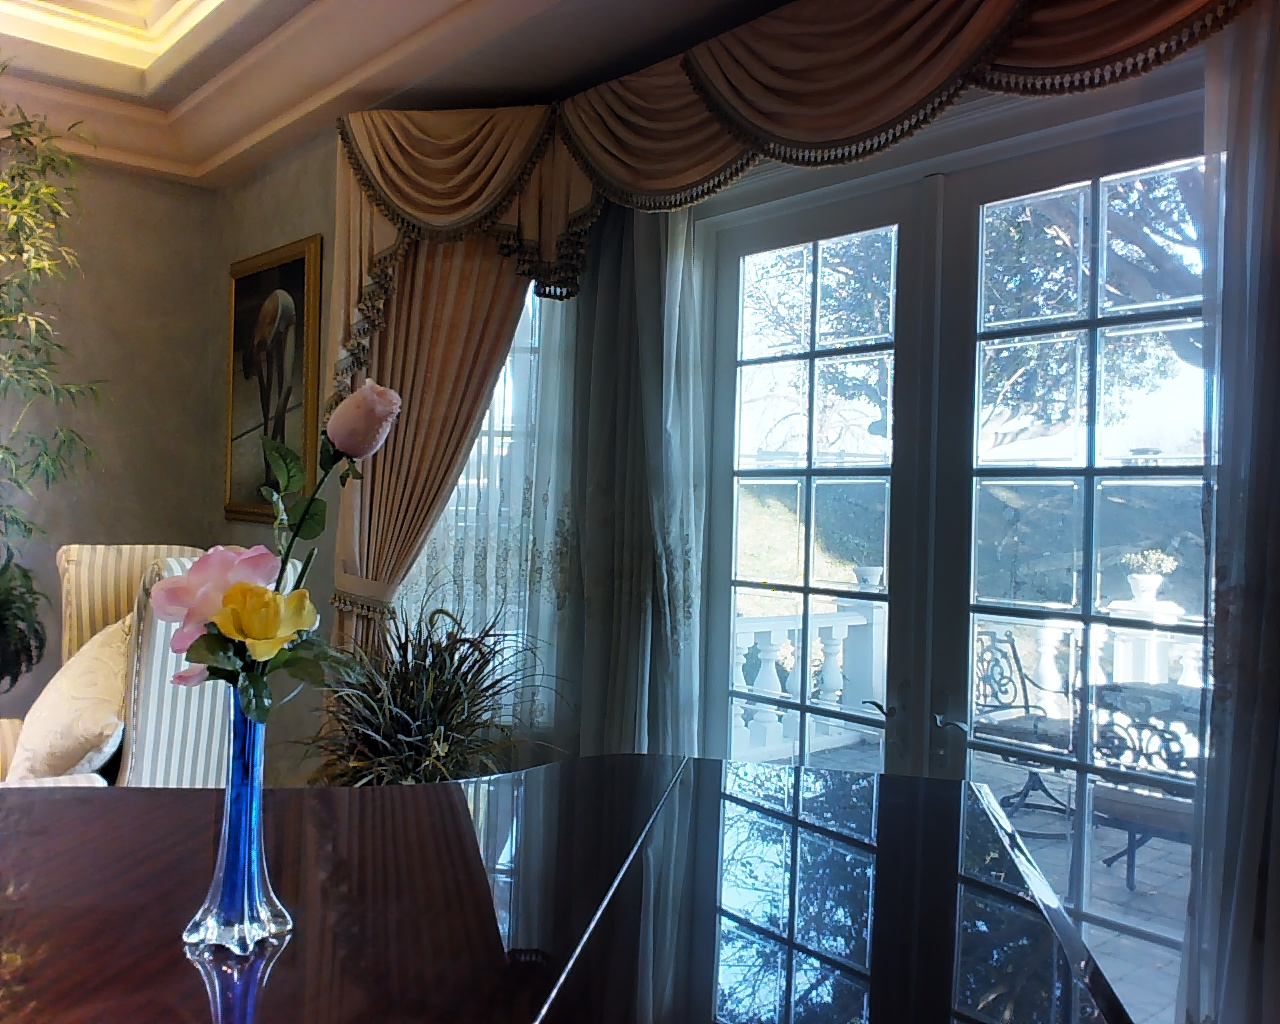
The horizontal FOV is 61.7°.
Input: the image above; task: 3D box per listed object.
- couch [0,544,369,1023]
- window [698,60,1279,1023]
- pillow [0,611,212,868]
[{"bbox_3d":[-1.670,0.740,3.230,1.220,1.220,1.210,1,1,-41],"label":"couch"},{"bbox_3d":[0.810,0.210,2.960,0.110,2.370,1.690,1,1,-41],"label":"window"},{"bbox_3d":[-1.660,0.630,3.200,0.490,0.580,0.700,1,1,-42],"label":"pillow"}]
